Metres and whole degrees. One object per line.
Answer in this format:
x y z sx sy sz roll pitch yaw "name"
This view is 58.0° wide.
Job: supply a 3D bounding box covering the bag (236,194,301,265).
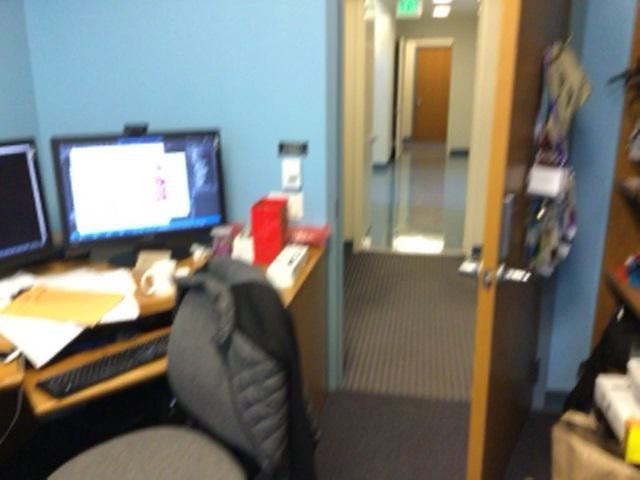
-0.200 -0.050 2.330 0.190 0.220 0.280 2 15 10 "bag"
